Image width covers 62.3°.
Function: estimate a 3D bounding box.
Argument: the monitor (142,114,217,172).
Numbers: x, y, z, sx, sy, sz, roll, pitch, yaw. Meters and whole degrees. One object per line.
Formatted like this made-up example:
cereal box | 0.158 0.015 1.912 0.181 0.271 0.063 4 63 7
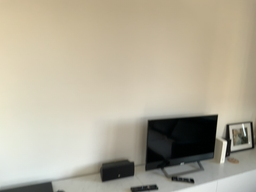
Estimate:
monitor | 0.470 0.400 1.880 0.710 0.430 0.060 -2 13 -24
